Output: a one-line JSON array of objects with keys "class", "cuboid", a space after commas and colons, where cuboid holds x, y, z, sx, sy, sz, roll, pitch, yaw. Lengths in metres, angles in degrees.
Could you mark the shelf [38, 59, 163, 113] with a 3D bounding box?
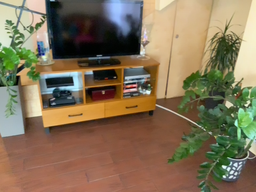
[{"class": "shelf", "cuboid": [-0.300, -0.160, 2.500, 1.350, 0.340, 0.430, -8, 28, -22]}]
